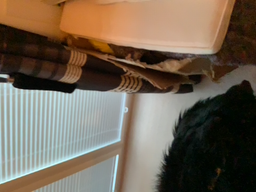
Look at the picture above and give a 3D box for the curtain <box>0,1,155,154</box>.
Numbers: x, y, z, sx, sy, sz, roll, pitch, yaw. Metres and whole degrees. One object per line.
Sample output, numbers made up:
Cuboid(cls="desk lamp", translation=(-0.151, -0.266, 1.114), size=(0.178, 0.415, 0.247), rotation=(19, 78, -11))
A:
Cuboid(cls="curtain", translation=(-0.640, -0.030, 0.430), size=(0.180, 2.130, 0.450), rotation=(19, 107, 37))
